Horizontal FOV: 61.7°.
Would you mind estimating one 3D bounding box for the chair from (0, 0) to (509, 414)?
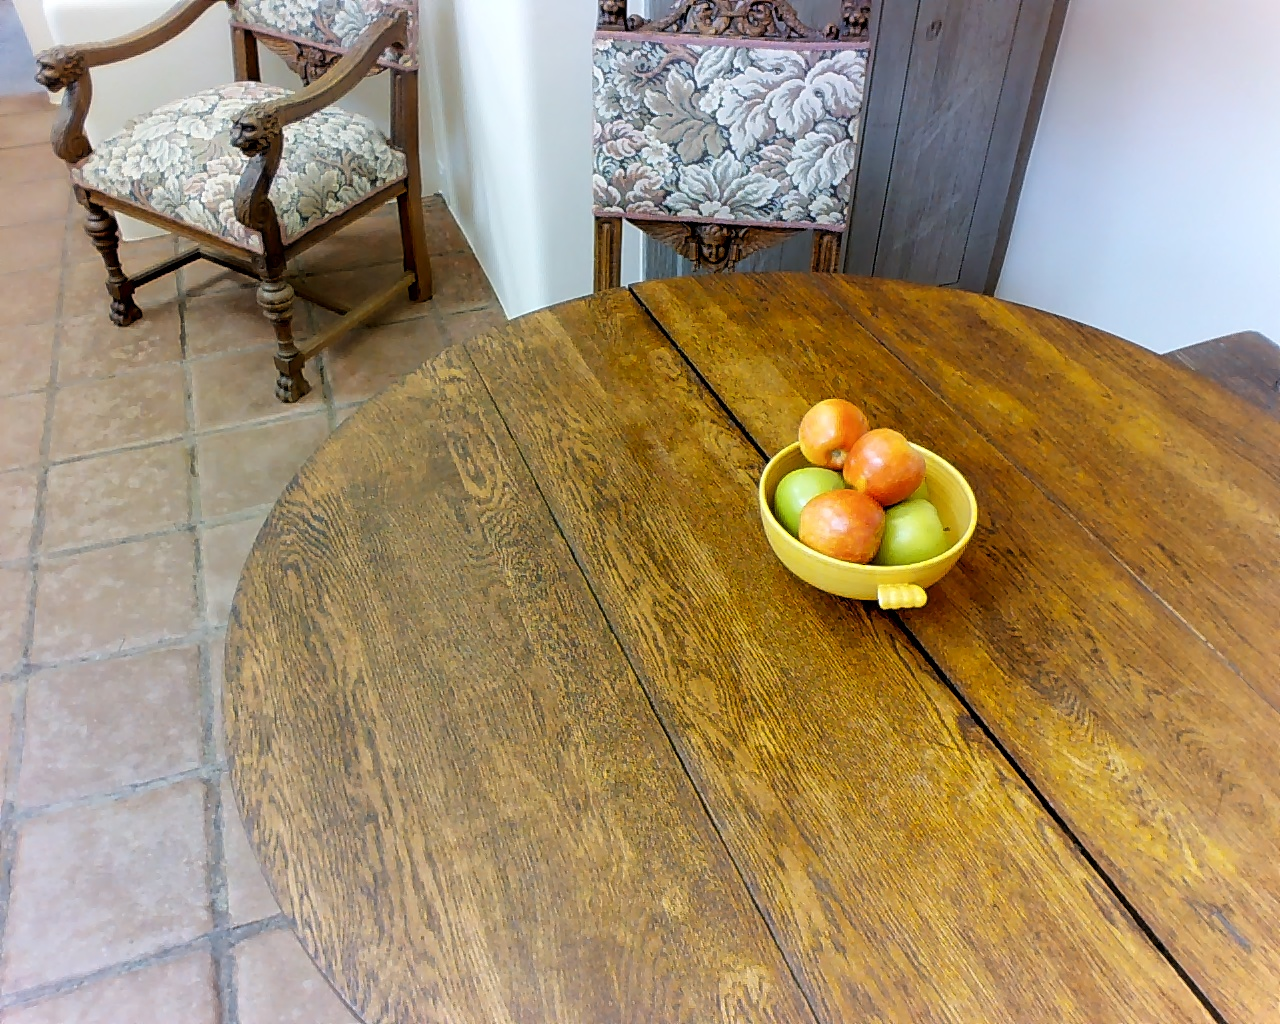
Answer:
[{"bbox_3d":[-0.870,-0.940,2.470,0.730,1.000,0.770,21,47,22],"label":"chair"}]

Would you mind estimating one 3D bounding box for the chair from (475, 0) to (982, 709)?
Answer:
[{"bbox_3d":[0.130,-0.270,1.760,0.560,0.970,0.680,4,43,4],"label":"chair"}]
